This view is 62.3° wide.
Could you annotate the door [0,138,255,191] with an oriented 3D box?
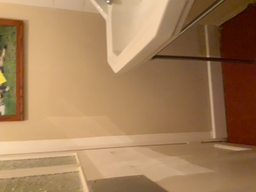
[{"bbox_3d":[-0.100,0.260,0.800,0.780,1.840,0.030,159,110,-72],"label":"door"}]
